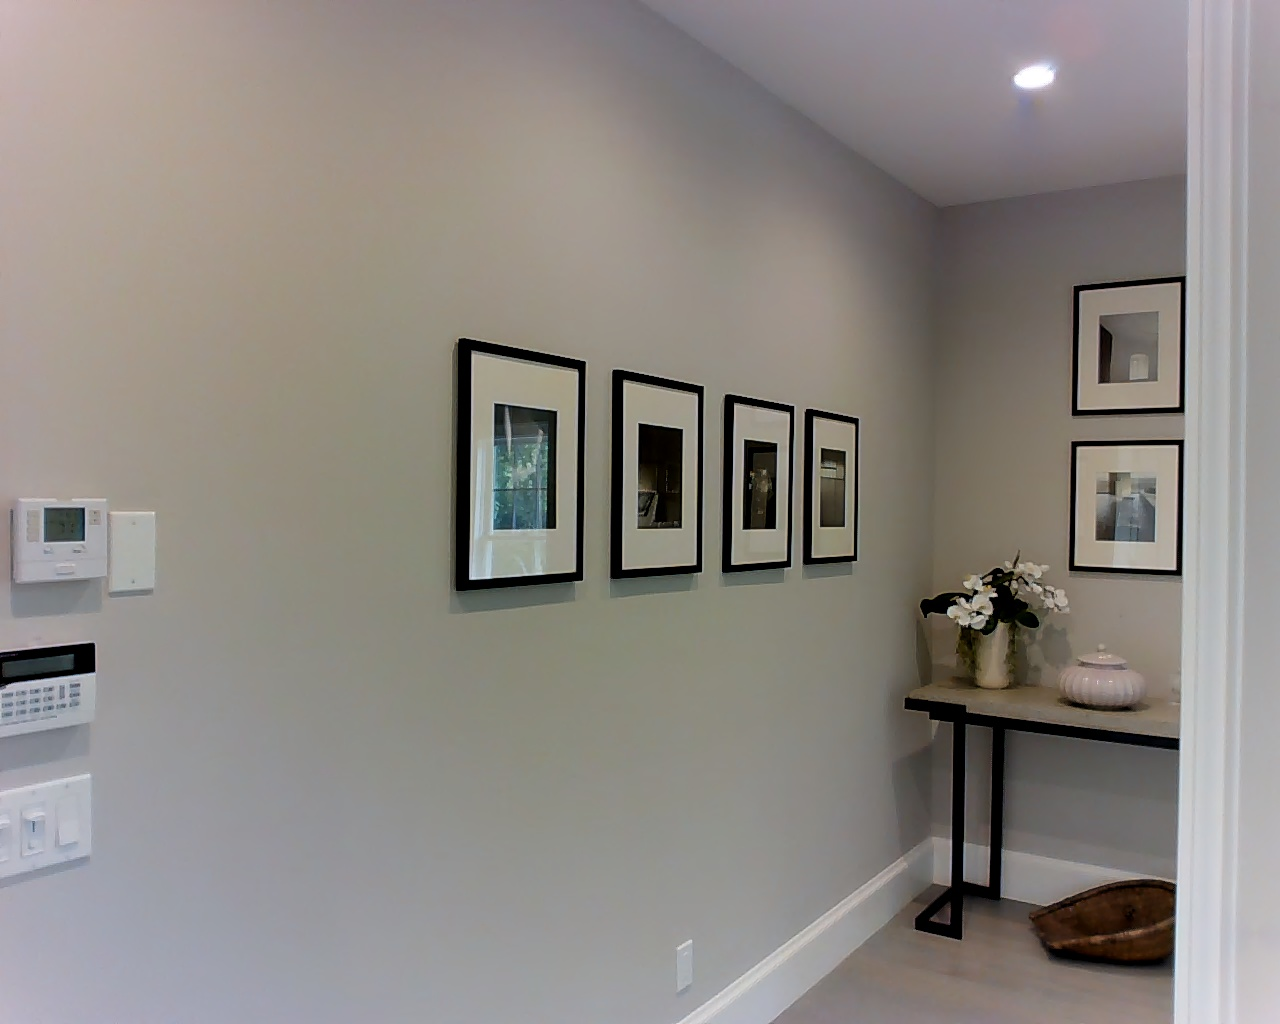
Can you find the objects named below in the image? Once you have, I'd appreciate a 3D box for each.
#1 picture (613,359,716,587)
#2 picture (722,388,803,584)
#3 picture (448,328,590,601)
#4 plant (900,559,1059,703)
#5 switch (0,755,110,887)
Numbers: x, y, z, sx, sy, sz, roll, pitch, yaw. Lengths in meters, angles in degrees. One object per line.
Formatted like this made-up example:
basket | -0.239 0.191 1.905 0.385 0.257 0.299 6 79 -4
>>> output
picture | 0.070 -0.090 2.680 0.020 0.530 0.430 1 0 34
picture | 0.360 -0.070 3.110 0.020 0.530 0.450 1 0 34
picture | -0.240 -0.090 2.230 0.020 0.520 0.420 1 0 34
plant | 1.290 0.430 4.070 0.450 0.470 0.470 1 0 34
switch | -0.790 0.410 1.430 0.010 0.140 0.170 1 0 34
